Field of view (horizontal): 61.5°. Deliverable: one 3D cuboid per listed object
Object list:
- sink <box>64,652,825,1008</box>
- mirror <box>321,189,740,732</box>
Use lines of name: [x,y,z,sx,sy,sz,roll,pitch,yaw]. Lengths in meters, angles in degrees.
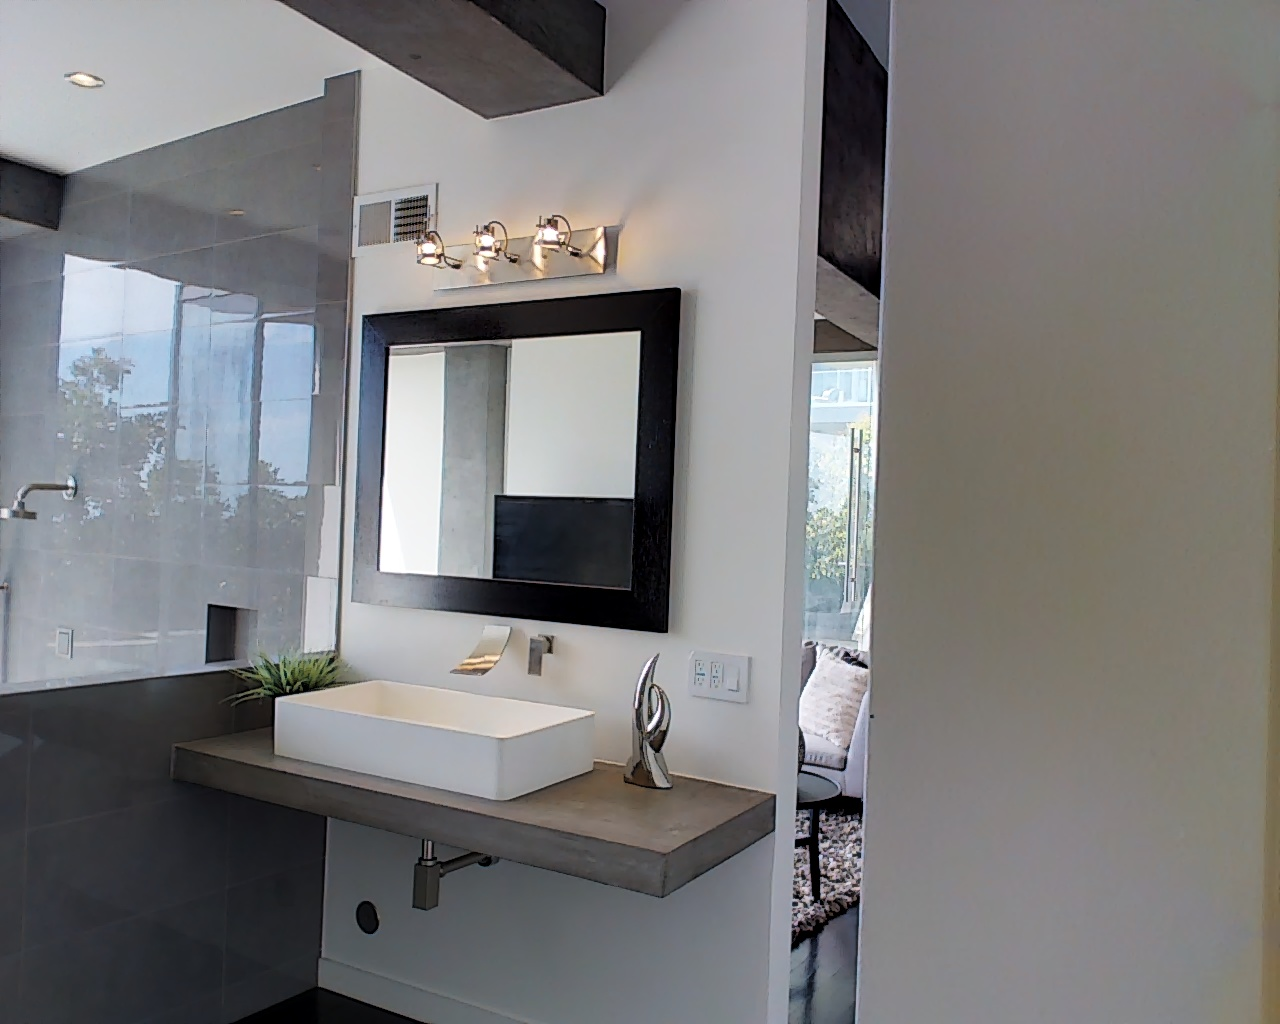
sink: [-0.440,0.770,2.840,1.650,0.640,0.910,2,-1,-3]
mirror: [-0.400,-0.150,3.160,0.270,1.200,0.980,3,35,-48]
